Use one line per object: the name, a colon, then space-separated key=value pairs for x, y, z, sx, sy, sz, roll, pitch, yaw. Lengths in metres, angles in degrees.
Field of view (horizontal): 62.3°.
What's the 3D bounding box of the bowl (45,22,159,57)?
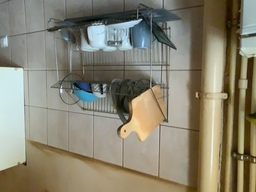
bowl: x=-0.140 y=-0.250 z=1.010 sx=0.540 sy=0.100 sz=0.190 roll=4 pitch=-173 yaw=31
